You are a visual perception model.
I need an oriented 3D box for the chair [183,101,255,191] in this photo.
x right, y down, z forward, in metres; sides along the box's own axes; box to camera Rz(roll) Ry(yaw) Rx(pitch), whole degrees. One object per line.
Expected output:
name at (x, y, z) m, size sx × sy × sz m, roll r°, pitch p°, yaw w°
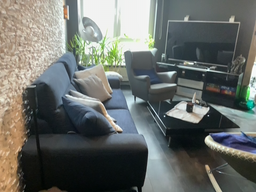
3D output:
chair at (1.160, 0.600, 1.740) m, size 1.000 × 0.820 × 0.980 m, roll 1°, pitch 19°, yaw -7°
